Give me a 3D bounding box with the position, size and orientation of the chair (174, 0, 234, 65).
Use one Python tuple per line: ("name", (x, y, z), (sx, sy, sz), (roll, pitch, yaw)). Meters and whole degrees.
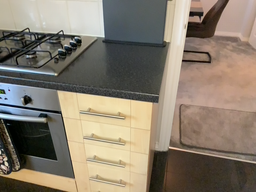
("chair", (1.070, -1.040, 3.160), (0.620, 0.950, 0.570), (6, 34, 8))
